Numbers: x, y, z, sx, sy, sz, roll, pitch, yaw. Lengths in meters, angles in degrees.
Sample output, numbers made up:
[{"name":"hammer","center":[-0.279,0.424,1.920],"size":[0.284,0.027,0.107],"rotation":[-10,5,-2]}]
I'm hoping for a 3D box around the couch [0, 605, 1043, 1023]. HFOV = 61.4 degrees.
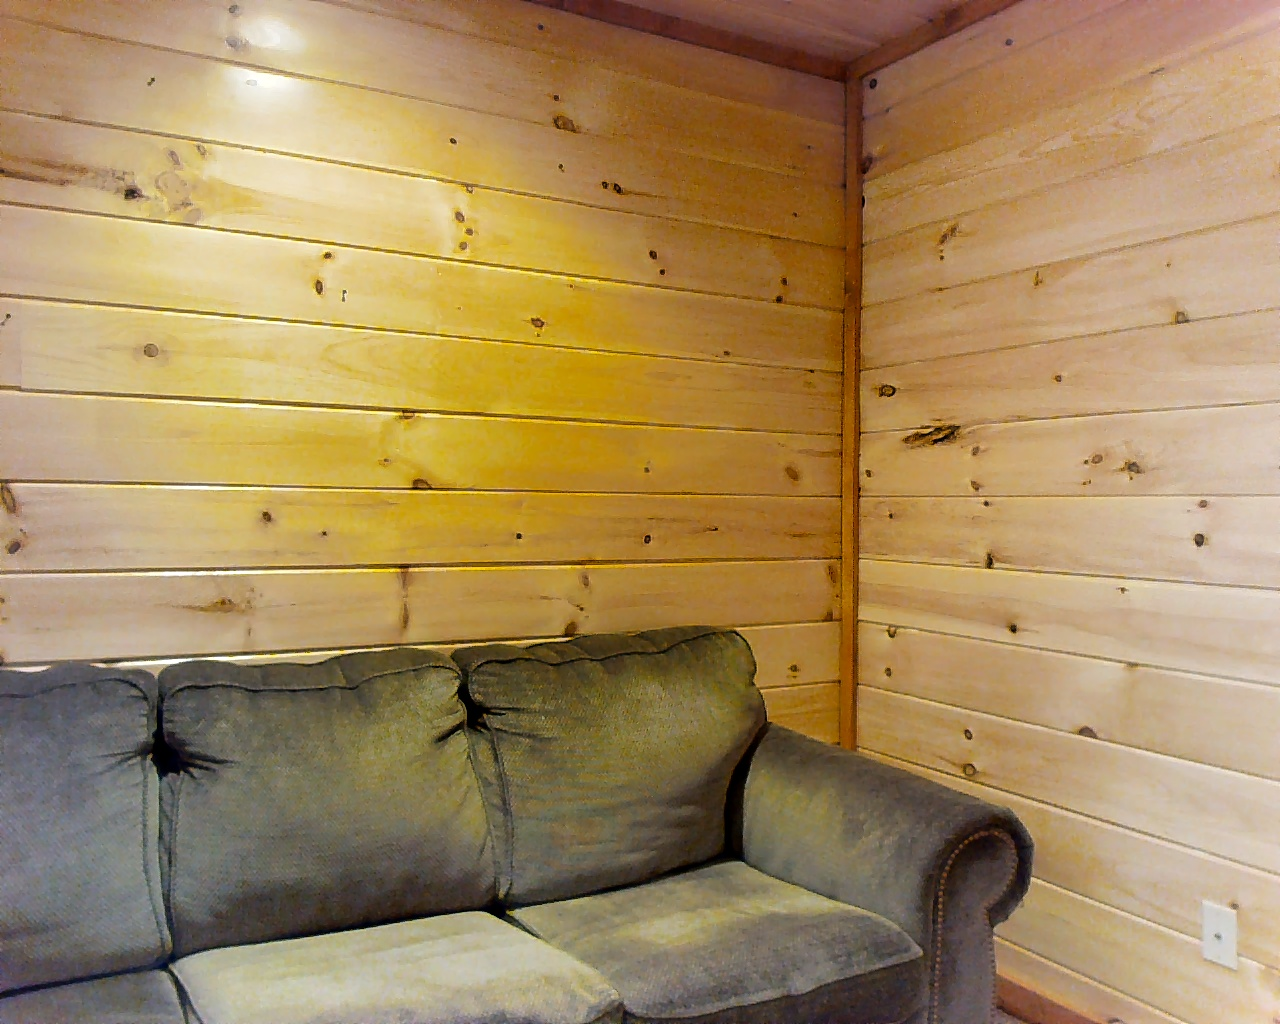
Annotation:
[{"name":"couch","center":[-0.480,0.690,1.860],"size":[2.269,0.870,0.990],"rotation":[0,1,-30]}]
